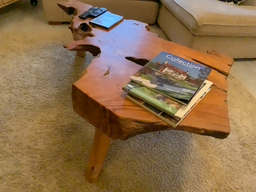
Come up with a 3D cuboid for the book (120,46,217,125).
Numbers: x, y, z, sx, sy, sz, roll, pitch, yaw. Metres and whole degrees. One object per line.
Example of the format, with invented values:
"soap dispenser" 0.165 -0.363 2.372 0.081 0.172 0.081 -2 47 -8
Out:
"book" 0.180 -0.070 0.880 0.260 0.060 0.360 29 45 20
